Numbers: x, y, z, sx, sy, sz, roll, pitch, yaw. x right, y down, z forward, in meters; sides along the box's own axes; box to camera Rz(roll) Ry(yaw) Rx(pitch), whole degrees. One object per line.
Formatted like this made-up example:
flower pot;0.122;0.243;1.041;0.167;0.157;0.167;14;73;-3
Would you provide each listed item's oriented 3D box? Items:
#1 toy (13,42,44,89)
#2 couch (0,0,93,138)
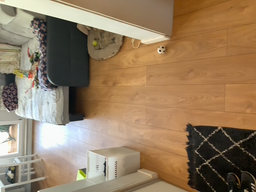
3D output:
toy;-1.520;-0.440;3.200;0.730;0.190;0.630;5;93;48
couch;-1.630;-0.340;3.340;2.260;1.000;1.480;3;91;48
